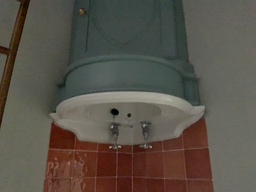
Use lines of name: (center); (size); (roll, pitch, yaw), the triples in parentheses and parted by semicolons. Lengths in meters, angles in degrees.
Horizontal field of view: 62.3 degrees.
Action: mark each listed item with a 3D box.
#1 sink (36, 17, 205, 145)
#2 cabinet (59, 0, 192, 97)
sink: (-0.040, 0.020, 0.850); (0.440, 0.290, 0.470); (16, 156, -39)
cabinet: (-0.020, -0.410, 1.020); (0.380, 0.680, 0.440); (16, 156, -39)
